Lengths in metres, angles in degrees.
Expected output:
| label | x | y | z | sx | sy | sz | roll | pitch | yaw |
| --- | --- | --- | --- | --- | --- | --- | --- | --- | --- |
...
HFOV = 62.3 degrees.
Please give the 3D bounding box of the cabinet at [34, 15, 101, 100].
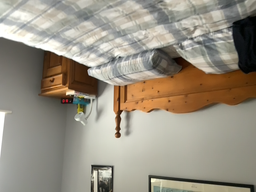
| label | x | y | z | sx | sy | sz | roll | pitch | yaw |
| --- | --- | --- | --- | --- | --- | --- | --- | --- | --- |
| cabinet | -0.680 | -0.380 | 2.410 | 0.570 | 0.750 | 0.440 | -8 | 167 | 39 |
